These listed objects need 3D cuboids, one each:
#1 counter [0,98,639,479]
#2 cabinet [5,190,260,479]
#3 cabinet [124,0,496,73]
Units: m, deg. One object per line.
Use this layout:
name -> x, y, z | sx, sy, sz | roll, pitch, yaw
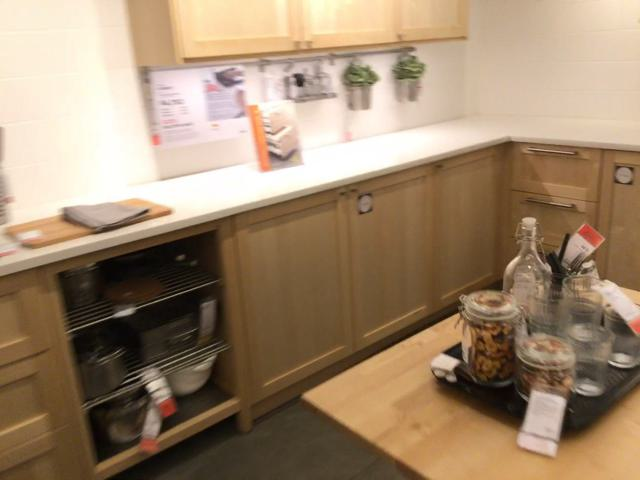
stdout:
counter -> 0.410, -0.030, 1.380 | 3.840, 0.220, 3.110 | -17, 21, -35
cabinet -> -0.670, 0.330, 2.120 | 0.600, 0.860, 0.570 | -17, 21, -35
cabinet -> 0.040, -0.980, 2.450 | 1.560, 0.400, 0.530 | -17, 21, -35
